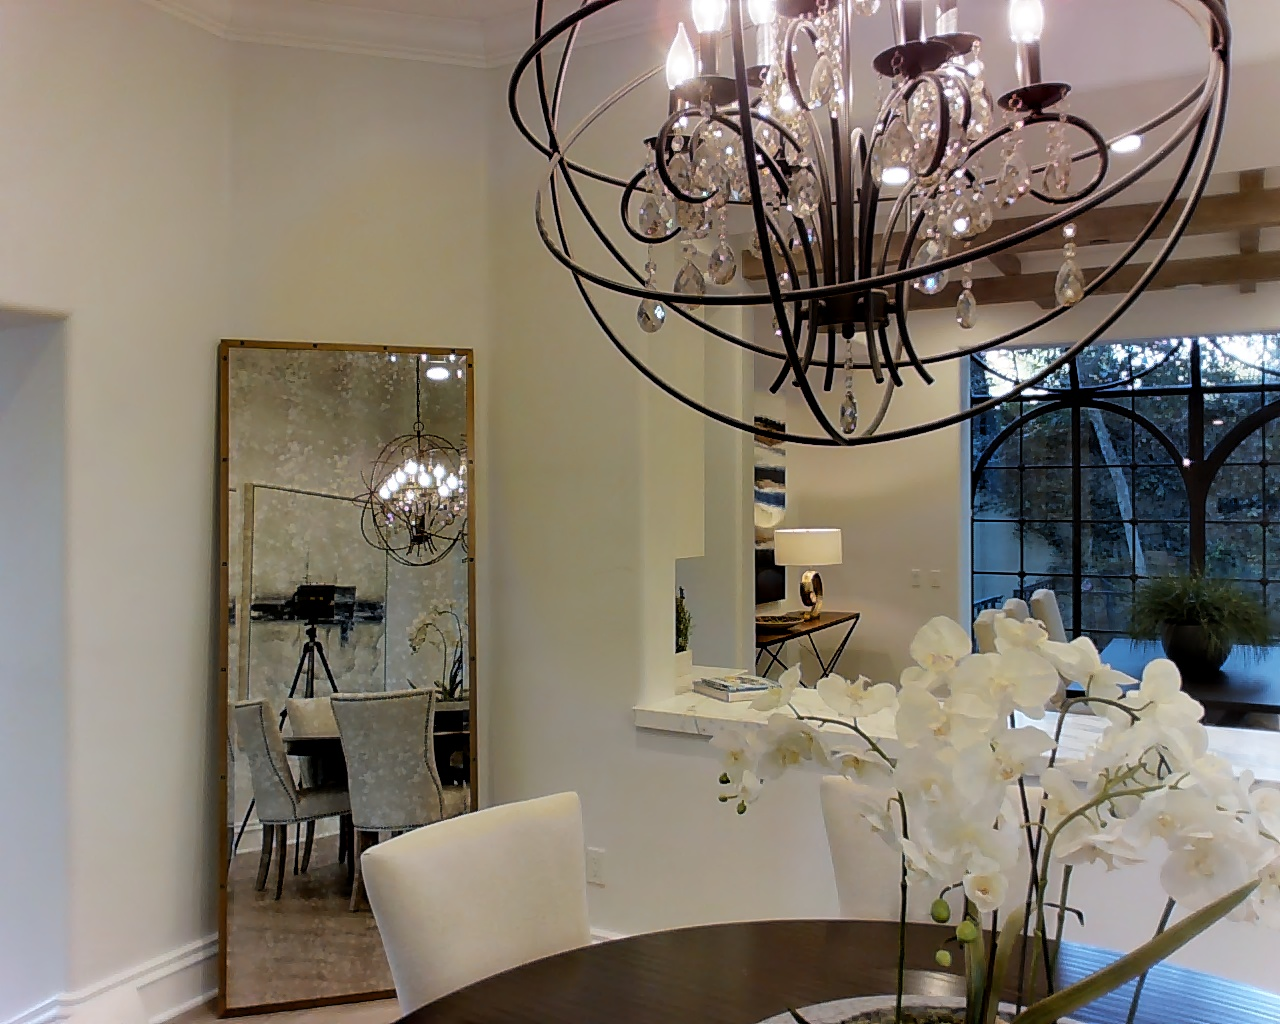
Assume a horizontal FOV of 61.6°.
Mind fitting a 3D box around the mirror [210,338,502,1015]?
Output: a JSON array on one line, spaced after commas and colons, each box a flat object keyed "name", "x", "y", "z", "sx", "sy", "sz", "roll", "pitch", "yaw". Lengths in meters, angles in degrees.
[{"name": "mirror", "x": -0.930, "y": 0.520, "z": 3.590, "sx": 0.850, "sy": 2.171, "sz": 0.120, "roll": -2, "pitch": 3, "yaw": -16}]

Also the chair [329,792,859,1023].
[{"name": "chair", "x": -0.090, "y": 1.120, "z": 1.910, "sx": 0.750, "sy": 1.000, "sz": 0.580, "roll": 0, "pitch": 0, "yaw": 42}]
